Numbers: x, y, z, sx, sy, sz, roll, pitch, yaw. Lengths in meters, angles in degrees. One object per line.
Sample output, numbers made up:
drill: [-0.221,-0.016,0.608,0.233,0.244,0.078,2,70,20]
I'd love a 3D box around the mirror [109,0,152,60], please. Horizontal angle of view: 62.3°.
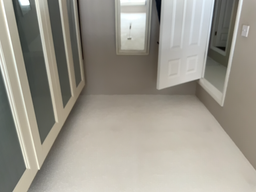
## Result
mirror: [0.030,-1.110,2.450,0.470,1.340,0.140,1,-160,-4]
